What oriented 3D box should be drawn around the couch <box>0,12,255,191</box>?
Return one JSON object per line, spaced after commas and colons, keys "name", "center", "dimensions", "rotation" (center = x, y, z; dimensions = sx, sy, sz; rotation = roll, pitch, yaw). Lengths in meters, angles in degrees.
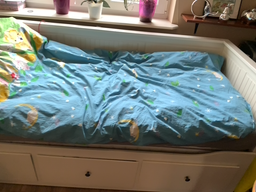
{"name": "couch", "center": [-0.240, 0.010, 1.620], "dimensions": [2.190, 0.850, 1.020], "rotation": [5, 34, -4]}
